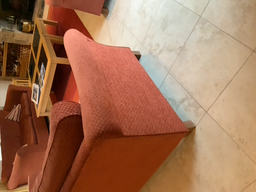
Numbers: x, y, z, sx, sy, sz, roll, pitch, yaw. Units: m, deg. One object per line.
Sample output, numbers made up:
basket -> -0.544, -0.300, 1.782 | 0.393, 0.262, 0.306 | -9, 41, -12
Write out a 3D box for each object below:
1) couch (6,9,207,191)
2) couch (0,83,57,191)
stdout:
couch -> -0.550, 0.580, 2.100 | 2.240, 0.920, 1.170 | -61, 44, 34
couch -> -2.400, 0.780, 4.730 | 2.160, 0.920, 1.060 | 55, 131, 41
